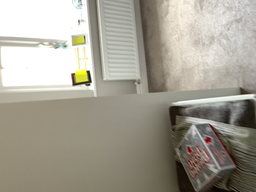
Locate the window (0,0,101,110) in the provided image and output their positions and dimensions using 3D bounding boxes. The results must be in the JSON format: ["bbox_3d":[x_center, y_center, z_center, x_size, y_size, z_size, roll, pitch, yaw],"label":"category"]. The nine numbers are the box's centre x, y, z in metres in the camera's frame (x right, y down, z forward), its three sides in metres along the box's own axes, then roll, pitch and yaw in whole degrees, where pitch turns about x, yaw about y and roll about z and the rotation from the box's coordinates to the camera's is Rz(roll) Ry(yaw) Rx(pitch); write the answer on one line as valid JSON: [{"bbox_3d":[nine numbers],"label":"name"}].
[{"bbox_3d":[-1.050,-0.580,2.280,0.180,1.420,1.400,-11,83,62],"label":"window"}]
